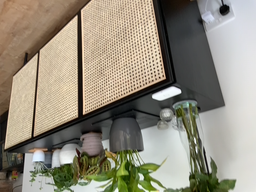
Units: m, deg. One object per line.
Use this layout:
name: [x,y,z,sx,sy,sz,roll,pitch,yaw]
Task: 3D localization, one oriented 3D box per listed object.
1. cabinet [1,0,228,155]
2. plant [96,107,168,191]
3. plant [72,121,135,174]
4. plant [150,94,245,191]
cabinet: [-0.290,-0.160,1.450,1.530,0.880,0.460,-24,152,38]
plant: [0.010,0.270,1.010,0.220,0.350,0.220,-24,152,38]
plant: [-0.150,0.310,1.240,0.270,0.240,0.230,-24,152,38]
plant: [0.280,0.270,0.870,0.250,0.470,0.200,-24,152,38]
